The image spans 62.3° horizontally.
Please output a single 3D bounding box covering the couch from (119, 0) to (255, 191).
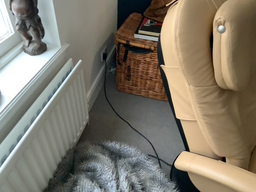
[{"bbox_3d":[0.650,0.180,1.030,1.150,1.130,0.730,31,49,25],"label":"couch"}]

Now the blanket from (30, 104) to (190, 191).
[{"bbox_3d":[-0.100,0.620,1.050,0.720,0.350,1.120,11,44,6],"label":"blanket"}]
